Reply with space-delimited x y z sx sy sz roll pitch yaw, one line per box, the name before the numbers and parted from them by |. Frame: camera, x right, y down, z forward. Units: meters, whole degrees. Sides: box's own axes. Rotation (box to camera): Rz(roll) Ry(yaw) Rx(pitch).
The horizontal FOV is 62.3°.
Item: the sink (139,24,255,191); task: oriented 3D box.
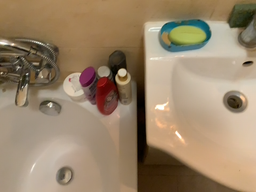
sink | 0.290 0.030 0.510 0.520 0.140 0.390 1 67 2
